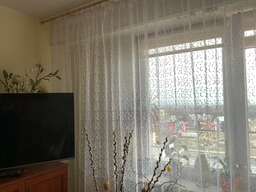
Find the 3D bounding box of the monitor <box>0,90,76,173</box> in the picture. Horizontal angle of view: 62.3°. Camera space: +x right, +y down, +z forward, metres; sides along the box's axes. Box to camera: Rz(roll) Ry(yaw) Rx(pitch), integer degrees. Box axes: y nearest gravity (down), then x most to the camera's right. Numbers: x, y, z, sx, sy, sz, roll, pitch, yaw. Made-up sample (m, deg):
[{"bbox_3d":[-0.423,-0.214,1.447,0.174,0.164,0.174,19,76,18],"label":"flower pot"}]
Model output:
[{"bbox_3d":[-0.970,0.280,1.750,1.080,0.660,0.070,0,-2,-32],"label":"monitor"}]
